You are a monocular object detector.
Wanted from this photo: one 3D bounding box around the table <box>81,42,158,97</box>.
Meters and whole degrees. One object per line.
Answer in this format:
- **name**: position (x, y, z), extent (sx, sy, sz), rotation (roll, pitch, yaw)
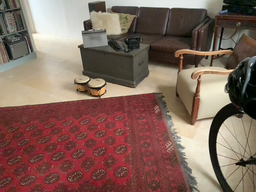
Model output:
- **table**: position (-0.110, -0.390, 2.880), extent (0.900, 0.450, 0.460), rotation (15, 36, 27)
